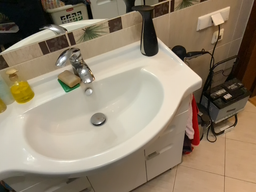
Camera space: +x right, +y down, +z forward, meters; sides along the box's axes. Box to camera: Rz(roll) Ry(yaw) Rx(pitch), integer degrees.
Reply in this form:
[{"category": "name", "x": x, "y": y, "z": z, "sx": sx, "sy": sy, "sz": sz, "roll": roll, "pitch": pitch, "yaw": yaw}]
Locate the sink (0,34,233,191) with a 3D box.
[{"category": "sink", "x": -0.130, "y": 0.060, "z": 0.880, "sx": 0.910, "sy": 0.180, "sz": 0.500, "roll": -22, "pitch": 48, "yaw": -15}]
